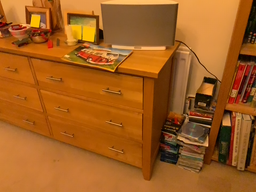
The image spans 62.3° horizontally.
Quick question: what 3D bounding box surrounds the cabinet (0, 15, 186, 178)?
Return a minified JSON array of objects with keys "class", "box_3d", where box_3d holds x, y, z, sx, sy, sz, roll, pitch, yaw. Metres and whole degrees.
[{"class":"cabinet","box_3d":[-0.450,-0.120,1.520,1.510,0.660,0.610,13,36,20]}]
